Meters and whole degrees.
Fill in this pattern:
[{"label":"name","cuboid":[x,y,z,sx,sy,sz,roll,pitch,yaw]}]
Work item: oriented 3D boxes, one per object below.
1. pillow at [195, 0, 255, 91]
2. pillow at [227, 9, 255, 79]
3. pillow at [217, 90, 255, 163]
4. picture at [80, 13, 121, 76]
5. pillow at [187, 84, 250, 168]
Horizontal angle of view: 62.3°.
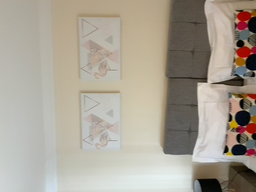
[{"label":"pillow","cuboid":[0.900,-0.460,1.890,0.110,0.510,0.790,-23,-64,-69]},{"label":"pillow","cuboid":[1.020,-0.430,1.810,0.170,0.240,0.550,-35,-52,-72]},{"label":"pillow","cuboid":[0.990,0.270,1.910,0.130,0.270,0.620,-33,-55,-72]},{"label":"picture","cuboid":[-0.260,-0.490,2.070,0.060,0.380,0.590,-105,15,-79]},{"label":"pillow","cuboid":[0.850,0.270,2.040,0.150,0.480,0.730,-18,-68,-69]}]
